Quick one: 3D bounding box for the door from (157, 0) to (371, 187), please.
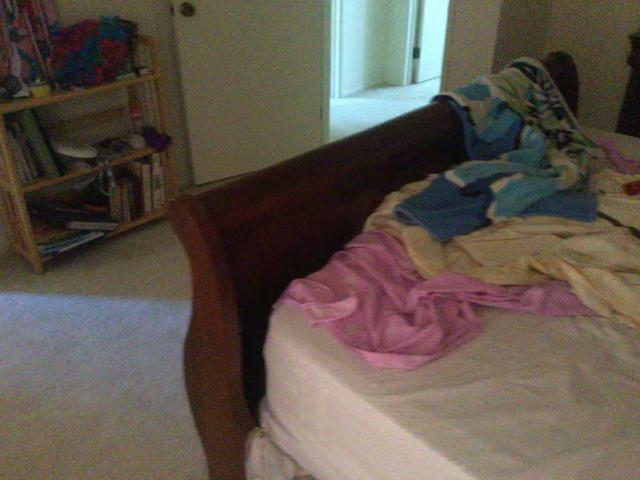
[{"bbox_3d":[-0.250,-1.100,2.900,1.040,1.460,0.290,-18,36,-29],"label":"door"}]
